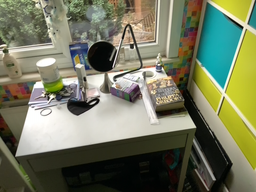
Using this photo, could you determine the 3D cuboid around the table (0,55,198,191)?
[{"bbox_3d":[-0.130,0.300,1.250,0.730,0.790,0.590,-9,40,-7],"label":"table"}]
